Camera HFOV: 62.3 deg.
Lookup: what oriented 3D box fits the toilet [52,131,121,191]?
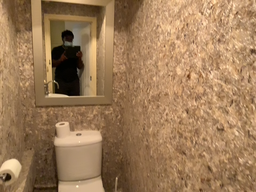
[{"bbox_3d":[-0.360,0.790,1.690,0.410,0.780,0.700,-2,13,-18],"label":"toilet"}]
